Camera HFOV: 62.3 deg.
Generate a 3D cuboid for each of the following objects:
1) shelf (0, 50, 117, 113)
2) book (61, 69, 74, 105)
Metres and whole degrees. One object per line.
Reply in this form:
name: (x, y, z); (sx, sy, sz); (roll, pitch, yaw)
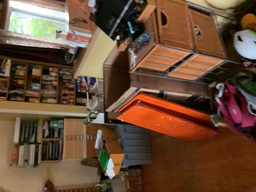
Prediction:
shelf: (-1.240, -0.200, 3.710); (0.290, 2.070, 0.850); (-41, 49, 55)
book: (-1.070, -0.160, 3.750); (0.180, 0.190, 0.610); (-43, 48, 54)
